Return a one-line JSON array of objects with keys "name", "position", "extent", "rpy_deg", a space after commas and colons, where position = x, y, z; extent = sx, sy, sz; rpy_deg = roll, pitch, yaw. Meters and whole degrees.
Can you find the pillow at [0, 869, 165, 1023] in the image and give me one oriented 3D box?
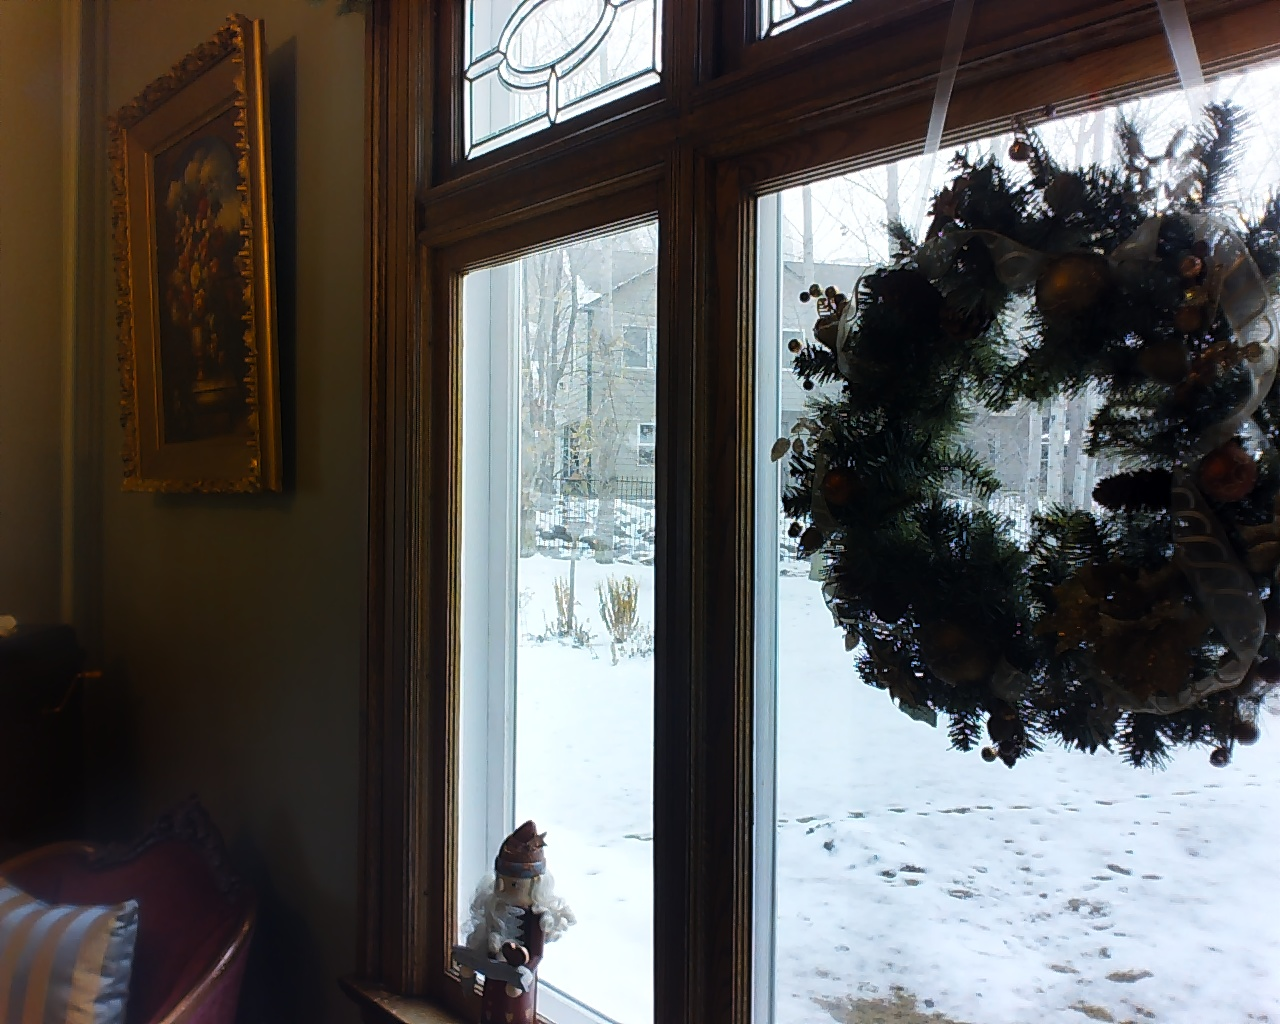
[{"name": "pillow", "position": [-1.080, 0.880, 1.940], "extent": [0.420, 0.360, 0.180], "rpy_deg": [1, 1, 25]}]
